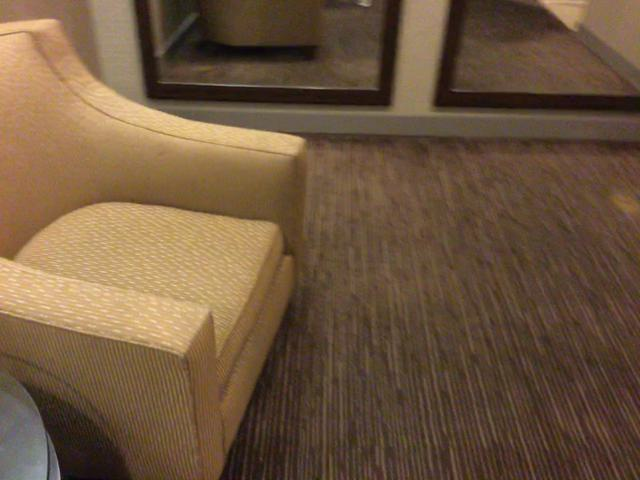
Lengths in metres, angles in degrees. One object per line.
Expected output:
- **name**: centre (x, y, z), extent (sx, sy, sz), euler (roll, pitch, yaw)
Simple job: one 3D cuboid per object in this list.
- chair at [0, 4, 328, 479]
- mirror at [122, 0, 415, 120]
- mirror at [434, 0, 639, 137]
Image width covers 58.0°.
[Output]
- **chair**: centre (-0.560, 0.010, 1.420), extent (0.970, 0.890, 0.920), euler (6, 36, 11)
- **mirror**: centre (-0.220, -1.100, 2.490), extent (1.240, 1.150, 0.190), euler (0, 35, 2)
- **mirror**: centre (1.090, -1.010, 2.480), extent (1.060, 1.100, 0.240), euler (-1, 35, 1)
